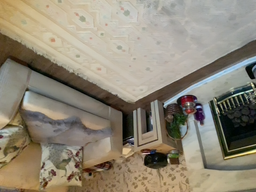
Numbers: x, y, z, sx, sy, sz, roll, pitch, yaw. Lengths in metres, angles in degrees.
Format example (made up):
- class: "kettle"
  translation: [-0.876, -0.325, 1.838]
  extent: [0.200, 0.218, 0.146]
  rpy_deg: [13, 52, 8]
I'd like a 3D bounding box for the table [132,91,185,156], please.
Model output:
- class: "table"
  translation: [0.330, 0.320, 2.380]
  extent: [0.370, 0.540, 0.400]
  rpy_deg: [-29, 138, 35]
